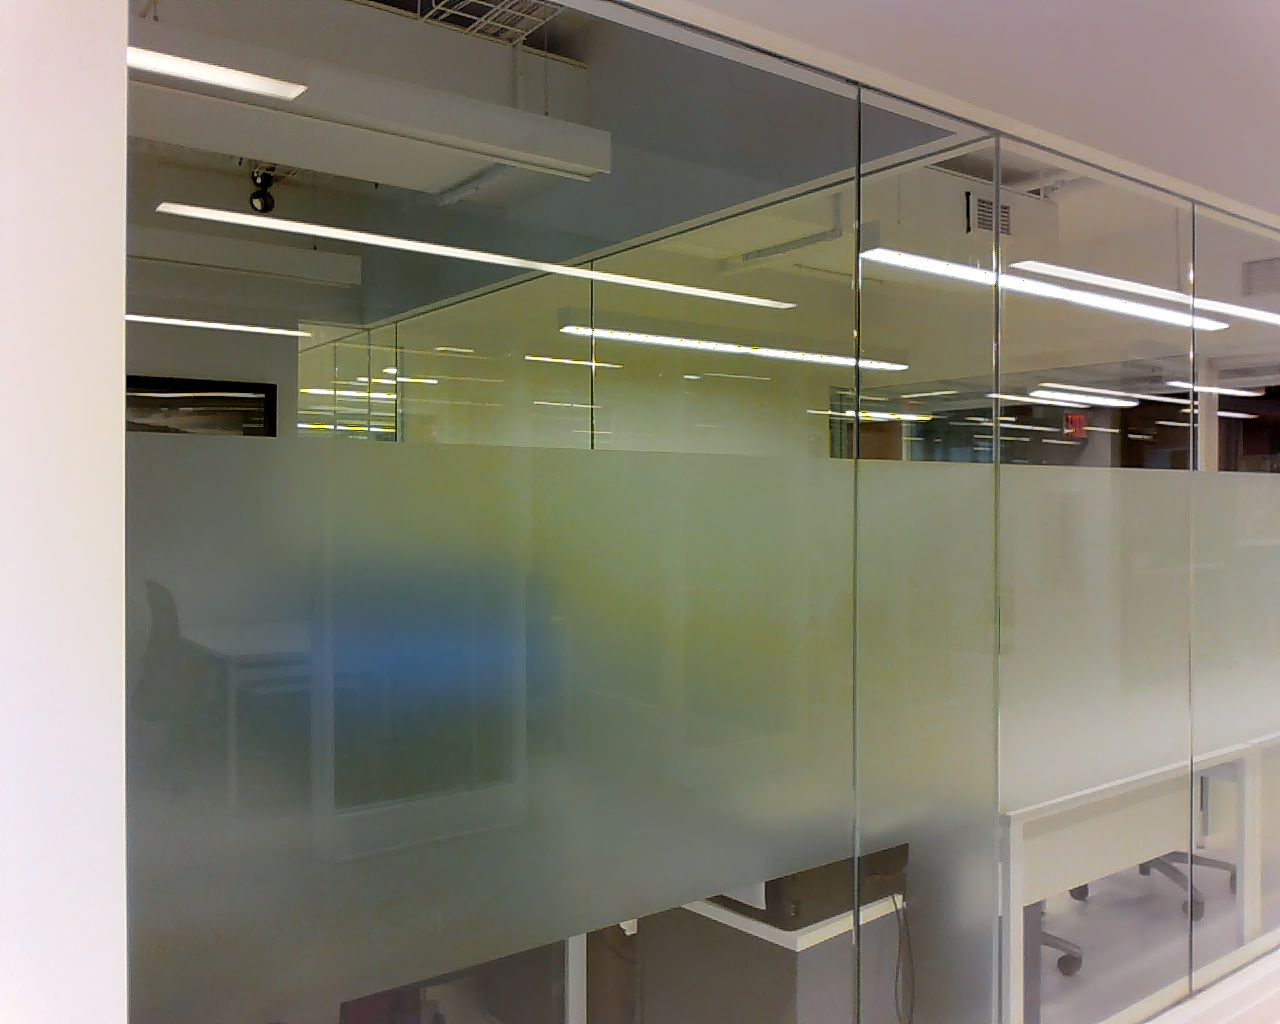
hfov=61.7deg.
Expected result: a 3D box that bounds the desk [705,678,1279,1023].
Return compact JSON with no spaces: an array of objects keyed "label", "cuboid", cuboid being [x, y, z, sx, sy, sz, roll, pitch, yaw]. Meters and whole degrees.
[{"label":"desk","cuboid":[1.510,1.100,3.510,2.710,0.760,0.810,0,0,-37]}]
